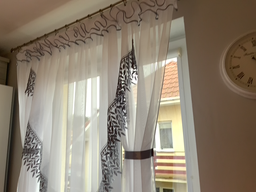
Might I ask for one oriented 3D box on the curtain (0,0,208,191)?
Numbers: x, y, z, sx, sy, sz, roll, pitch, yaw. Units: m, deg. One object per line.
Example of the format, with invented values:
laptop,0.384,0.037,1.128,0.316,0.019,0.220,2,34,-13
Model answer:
curtain,-0.330,0.340,1.520,1.610,2.000,0.320,-9,-15,30
